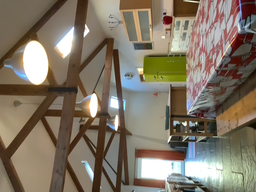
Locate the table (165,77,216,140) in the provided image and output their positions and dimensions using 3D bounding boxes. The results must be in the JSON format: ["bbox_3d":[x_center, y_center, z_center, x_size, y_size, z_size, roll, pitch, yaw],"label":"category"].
[{"bbox_3d":[1.340,0.350,4.900,1.380,0.920,1.110,67,-155,-71],"label":"table"}]
